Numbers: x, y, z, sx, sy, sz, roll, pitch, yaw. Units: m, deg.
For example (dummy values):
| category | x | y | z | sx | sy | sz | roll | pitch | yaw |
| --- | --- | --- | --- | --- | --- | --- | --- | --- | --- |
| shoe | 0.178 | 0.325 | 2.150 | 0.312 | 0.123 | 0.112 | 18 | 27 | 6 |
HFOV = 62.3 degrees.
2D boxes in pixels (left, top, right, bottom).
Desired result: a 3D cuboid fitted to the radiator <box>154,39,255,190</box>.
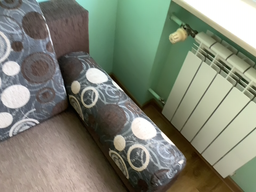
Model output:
| category | x | y | z | sx | sy | sz | roll | pitch | yaw |
| --- | --- | --- | --- | --- | --- | --- | --- | --- | --- |
| radiator | 0.430 | 0.130 | 1.110 | 0.150 | 0.640 | 0.520 | -26 | 60 | -27 |
